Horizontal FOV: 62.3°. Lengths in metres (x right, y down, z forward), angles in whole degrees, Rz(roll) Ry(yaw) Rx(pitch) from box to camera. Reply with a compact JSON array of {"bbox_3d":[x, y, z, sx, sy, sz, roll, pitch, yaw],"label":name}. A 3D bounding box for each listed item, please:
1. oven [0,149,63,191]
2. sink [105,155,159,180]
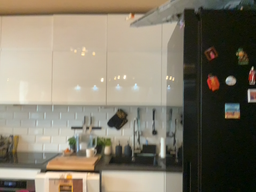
[{"bbox_3d":[-1.140,1.130,2.380,0.580,0.910,0.620,1,-3,3],"label":"oven"},{"bbox_3d":[0.050,0.780,2.360,0.560,0.160,0.360,1,-3,3],"label":"sink"}]
